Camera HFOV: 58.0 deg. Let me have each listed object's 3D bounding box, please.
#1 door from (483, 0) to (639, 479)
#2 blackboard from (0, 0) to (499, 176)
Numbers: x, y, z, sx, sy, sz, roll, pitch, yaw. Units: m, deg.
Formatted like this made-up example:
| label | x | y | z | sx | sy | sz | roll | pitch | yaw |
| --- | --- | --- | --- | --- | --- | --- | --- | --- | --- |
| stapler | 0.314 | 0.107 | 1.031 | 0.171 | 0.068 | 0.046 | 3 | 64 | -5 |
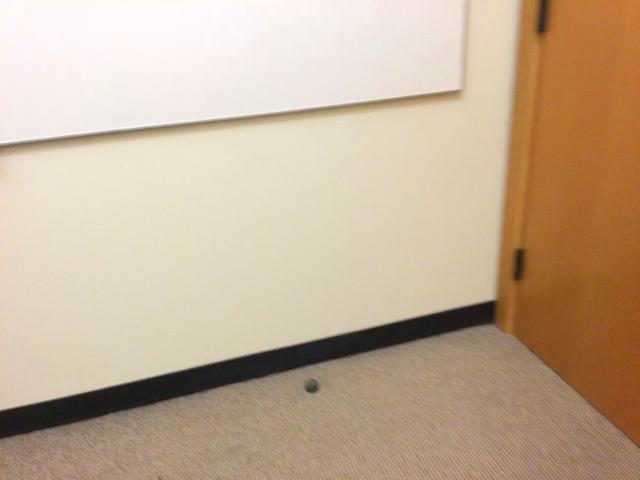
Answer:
| label | x | y | z | sx | sy | sz | roll | pitch | yaw |
| --- | --- | --- | --- | --- | --- | --- | --- | --- | --- |
| door | 0.770 | -0.020 | 1.410 | 0.110 | 1.210 | 1.160 | -9 | 24 | -12 |
| blackboard | -0.710 | -0.410 | 1.410 | 2.440 | 0.460 | 0.140 | -9 | 24 | -12 |
